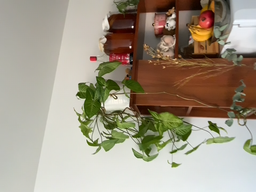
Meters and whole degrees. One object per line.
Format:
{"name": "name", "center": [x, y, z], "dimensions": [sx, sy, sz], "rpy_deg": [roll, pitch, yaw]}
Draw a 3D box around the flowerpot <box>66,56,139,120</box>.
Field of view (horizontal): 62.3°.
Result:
{"name": "flowerpot", "center": [-0.130, -0.030, 1.400], "dimensions": [0.450, 0.340, 0.290], "rpy_deg": [59, -146, -71]}
